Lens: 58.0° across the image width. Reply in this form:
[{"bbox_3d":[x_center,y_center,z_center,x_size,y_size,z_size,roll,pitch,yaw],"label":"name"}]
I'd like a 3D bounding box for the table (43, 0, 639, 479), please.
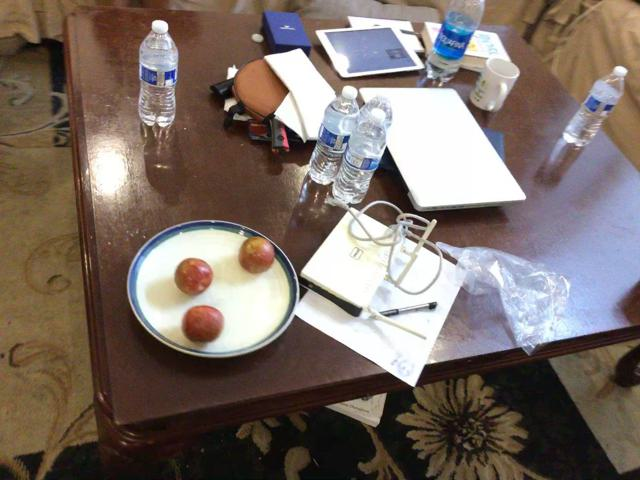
[{"bbox_3d":[0.140,-0.110,1.340,1.330,0.460,1.050,-7,53,-21],"label":"table"}]

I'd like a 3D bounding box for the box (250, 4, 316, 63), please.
[{"bbox_3d":[-0.090,-0.490,1.370,0.110,0.050,0.160,-7,53,-21],"label":"box"}]

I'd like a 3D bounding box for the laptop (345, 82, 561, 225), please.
[{"bbox_3d":[0.270,-0.200,1.220,0.330,0.050,0.360,-7,53,-21],"label":"laptop"}]
